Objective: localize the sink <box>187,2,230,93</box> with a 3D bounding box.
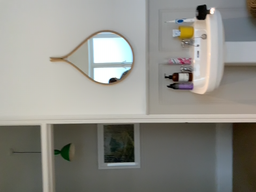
[{"bbox_3d":[0.540,-0.300,1.480,0.450,0.130,0.530,-74,-16,-86],"label":"sink"}]
